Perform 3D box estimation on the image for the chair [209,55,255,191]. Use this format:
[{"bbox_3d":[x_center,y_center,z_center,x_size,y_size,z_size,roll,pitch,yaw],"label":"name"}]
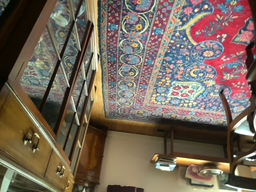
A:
[{"bbox_3d":[1.080,0.260,1.680,0.550,0.910,0.530,13,149,-10],"label":"chair"}]
